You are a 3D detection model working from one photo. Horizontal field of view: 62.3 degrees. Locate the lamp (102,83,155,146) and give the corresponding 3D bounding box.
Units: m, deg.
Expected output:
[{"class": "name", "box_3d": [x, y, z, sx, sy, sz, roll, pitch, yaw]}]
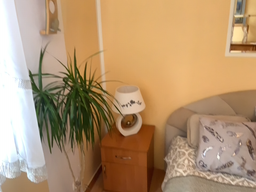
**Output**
[{"class": "lamp", "box_3d": [0.020, 0.150, 1.960, 0.390, 0.450, 0.330, 5, 20, 17]}]
